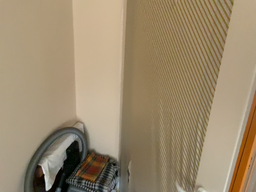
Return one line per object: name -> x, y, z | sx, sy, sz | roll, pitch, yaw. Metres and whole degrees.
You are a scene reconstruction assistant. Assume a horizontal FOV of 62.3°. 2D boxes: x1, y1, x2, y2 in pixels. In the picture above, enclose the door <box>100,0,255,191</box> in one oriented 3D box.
door -> 0.070, 0.290, 1.120 | 0.120, 2.050, 1.000 | -6, 22, -24
